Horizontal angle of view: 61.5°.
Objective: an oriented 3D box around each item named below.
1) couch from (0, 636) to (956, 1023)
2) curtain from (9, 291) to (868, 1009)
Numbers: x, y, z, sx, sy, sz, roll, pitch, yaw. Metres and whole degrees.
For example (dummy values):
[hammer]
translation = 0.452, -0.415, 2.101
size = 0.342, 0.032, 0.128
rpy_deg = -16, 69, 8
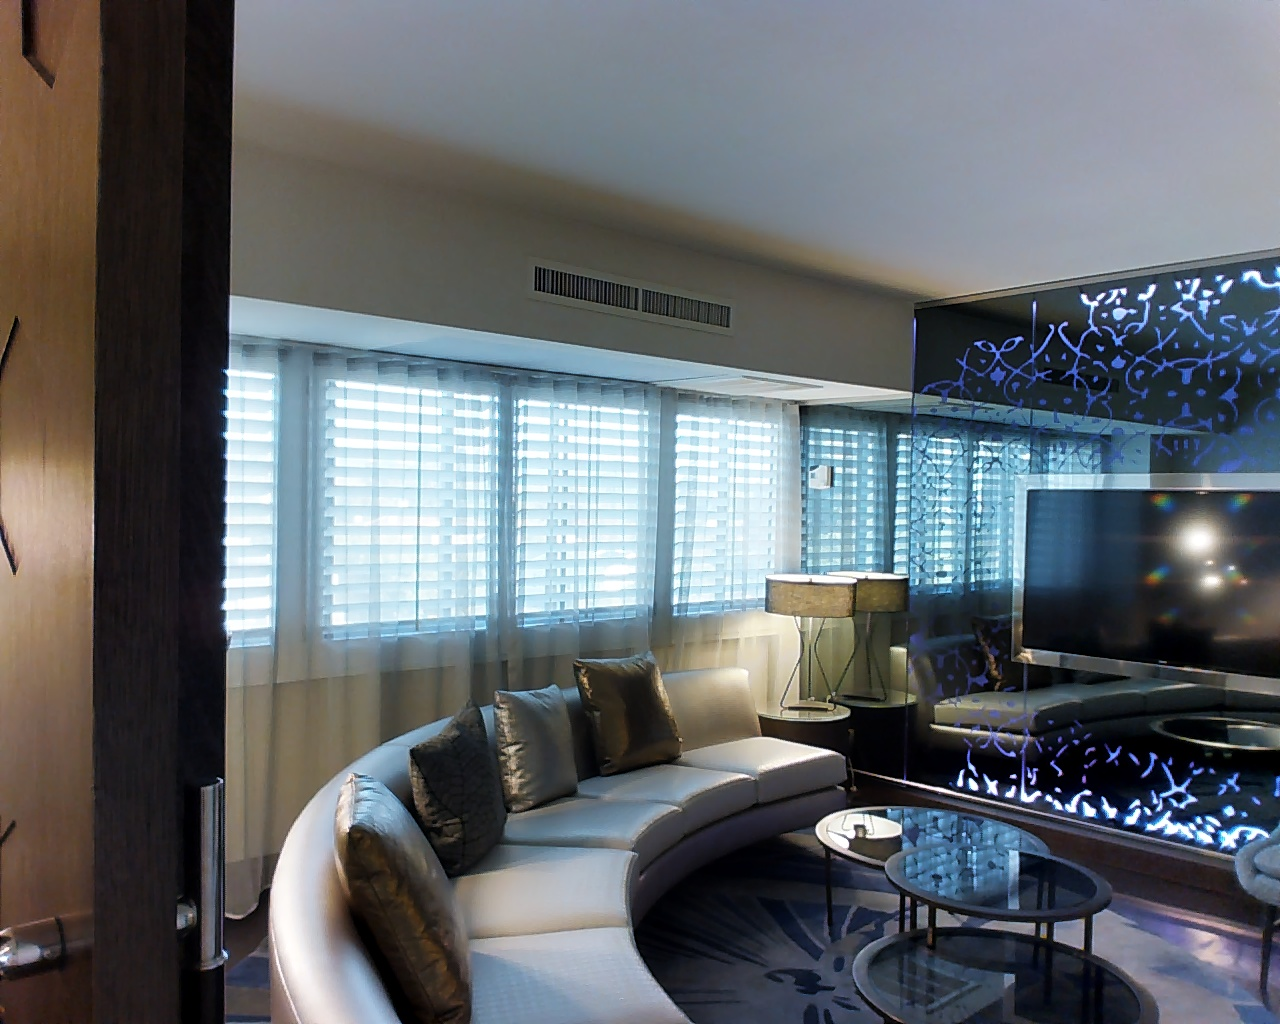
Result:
[couch]
translation = -0.050, 1.080, 3.430
size = 1.690, 0.760, 4.360
rpy_deg = 1, 1, 11
[curtain]
translation = -0.420, 0.410, 4.630
size = 3.940, 2.120, 0.430
rpy_deg = 0, 1, -41
